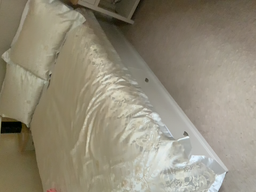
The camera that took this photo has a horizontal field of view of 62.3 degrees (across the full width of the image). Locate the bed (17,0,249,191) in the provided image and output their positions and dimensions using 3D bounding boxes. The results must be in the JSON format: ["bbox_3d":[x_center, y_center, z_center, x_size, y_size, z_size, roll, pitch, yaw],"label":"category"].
[{"bbox_3d":[-0.400,0.270,2.070,1.650,0.700,2.140,-56,47,30],"label":"bed"}]

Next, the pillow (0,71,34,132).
[{"bbox_3d":[-1.260,0.080,2.300,0.150,0.390,0.700,-95,22,-48],"label":"pillow"}]

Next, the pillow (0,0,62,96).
[{"bbox_3d":[-0.880,-0.450,1.950,0.200,0.480,0.850,-72,-3,-52],"label":"pillow"}]
